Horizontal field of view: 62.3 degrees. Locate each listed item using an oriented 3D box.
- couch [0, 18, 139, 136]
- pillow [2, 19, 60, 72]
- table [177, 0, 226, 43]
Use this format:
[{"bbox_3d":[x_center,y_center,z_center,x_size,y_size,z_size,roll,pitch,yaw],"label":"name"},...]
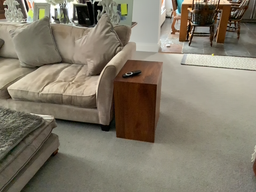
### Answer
[{"bbox_3d":[-1.120,-0.370,2.500,2.330,0.830,1.050,7,31,13],"label":"couch"},{"bbox_3d":[-1.120,-0.580,2.480,0.530,0.520,0.140,-9,4,-1],"label":"pillow"},{"bbox_3d":[1.740,-1.900,5.130,0.870,0.780,1.530,8,31,15],"label":"table"}]
